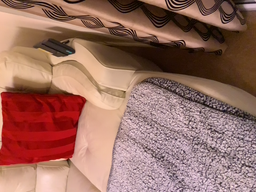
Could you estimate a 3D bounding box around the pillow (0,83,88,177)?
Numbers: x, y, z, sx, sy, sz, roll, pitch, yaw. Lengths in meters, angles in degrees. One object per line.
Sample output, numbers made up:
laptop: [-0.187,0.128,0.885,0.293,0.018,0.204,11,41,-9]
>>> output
pillow: [-0.530,0.220,1.300,0.160,0.460,0.560,-121,40,-51]
